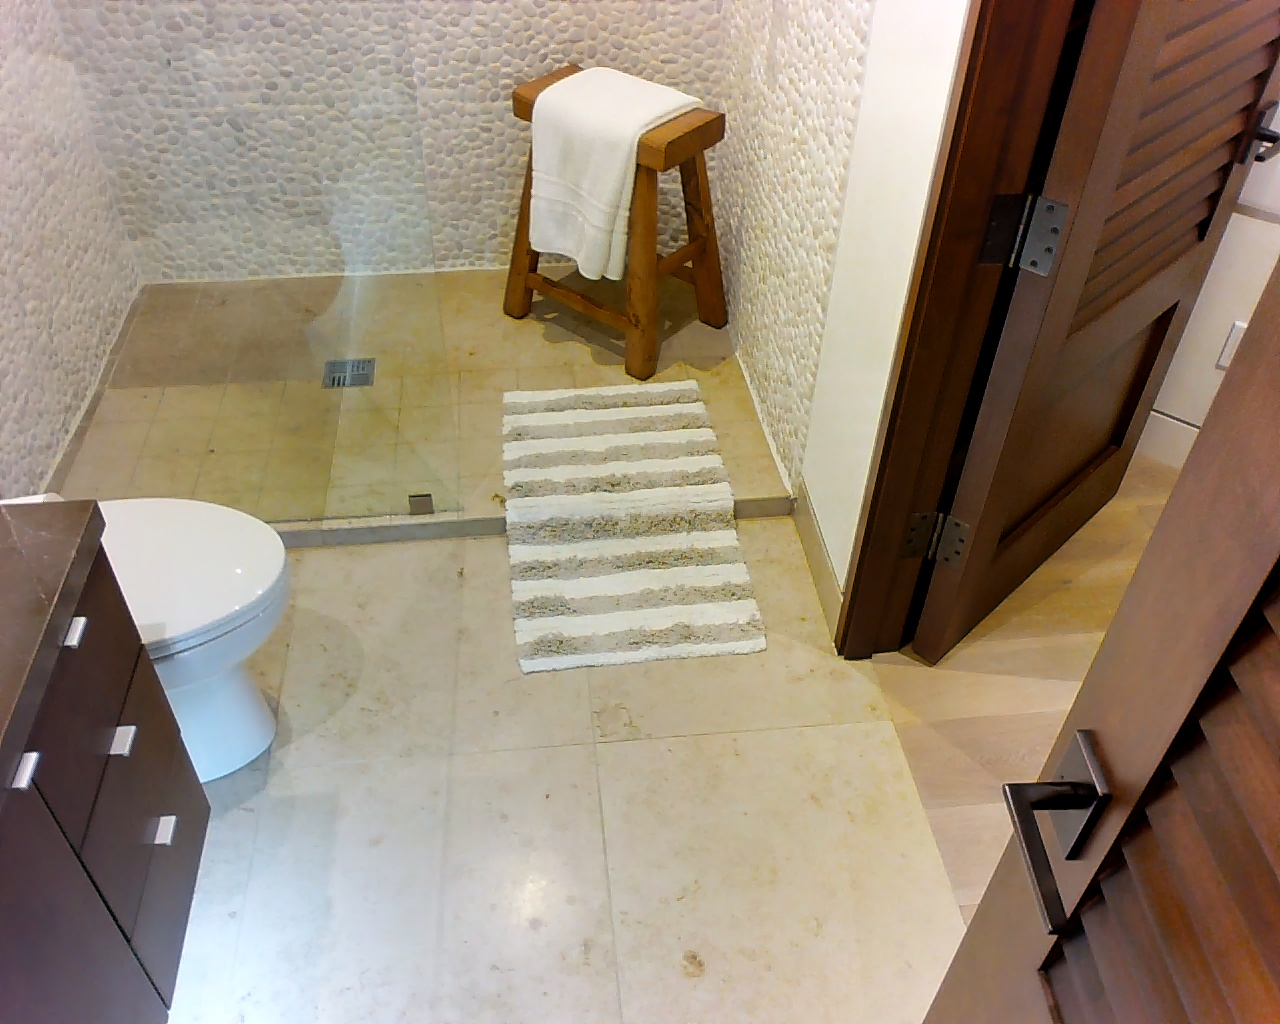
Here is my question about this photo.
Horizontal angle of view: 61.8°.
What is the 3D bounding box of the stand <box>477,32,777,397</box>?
[{"bbox_3d":[-0.040,-0.800,2.850,0.580,0.680,0.460,33,51,31],"label":"stand"}]
